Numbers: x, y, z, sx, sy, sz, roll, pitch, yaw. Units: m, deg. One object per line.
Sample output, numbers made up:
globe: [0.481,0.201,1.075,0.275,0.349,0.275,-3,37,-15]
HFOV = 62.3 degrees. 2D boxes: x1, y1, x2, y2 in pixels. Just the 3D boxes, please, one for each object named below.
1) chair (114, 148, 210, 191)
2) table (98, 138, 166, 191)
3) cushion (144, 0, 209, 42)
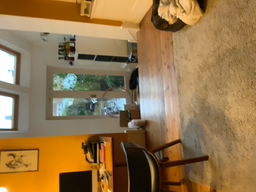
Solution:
chair: [0.270,0.690,1.860,0.430,0.690,0.380,149,119,-70]
table: [0.040,1.380,2.670,0.590,0.700,1.620,152,117,-70]
cushion: [0.460,-0.950,2.110,0.810,0.230,0.630,-123,37,-59]
